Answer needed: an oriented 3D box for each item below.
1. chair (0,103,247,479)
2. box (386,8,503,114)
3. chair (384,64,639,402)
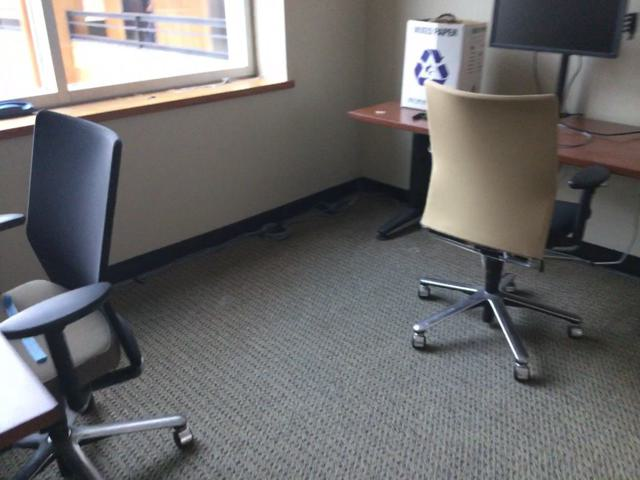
[{"bbox_3d":[-0.770,0.240,1.470,0.770,1.020,0.730,16,28,41],"label":"chair"},{"bbox_3d":[0.590,-0.860,2.760,0.400,0.430,0.360,16,28,41],"label":"box"},{"bbox_3d":[0.680,-0.090,2.110,0.660,1.010,0.550,16,28,41],"label":"chair"}]
